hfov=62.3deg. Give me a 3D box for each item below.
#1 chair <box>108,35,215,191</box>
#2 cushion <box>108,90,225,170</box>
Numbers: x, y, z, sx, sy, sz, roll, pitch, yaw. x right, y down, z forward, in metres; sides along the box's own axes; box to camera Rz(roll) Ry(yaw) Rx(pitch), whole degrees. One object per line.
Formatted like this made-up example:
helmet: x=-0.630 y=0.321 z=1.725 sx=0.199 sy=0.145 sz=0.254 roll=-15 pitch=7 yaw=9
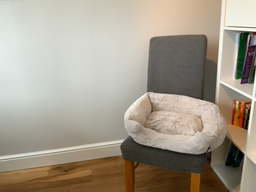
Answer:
chair: x=0.290 y=0.150 z=1.470 sx=0.500 sy=1.030 sz=0.690 roll=5 pitch=22 yaw=22
cushion: x=0.270 y=0.160 z=1.350 sx=0.610 sy=0.210 sz=0.490 roll=5 pitch=22 yaw=24
